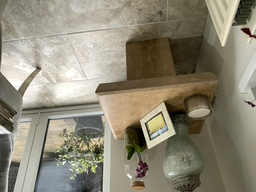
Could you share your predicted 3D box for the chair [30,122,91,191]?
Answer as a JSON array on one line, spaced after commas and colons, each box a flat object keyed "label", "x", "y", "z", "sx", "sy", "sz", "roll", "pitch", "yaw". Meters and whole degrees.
[{"label": "chair", "x": -0.740, "y": 0.910, "z": 2.450, "sx": 0.470, "sy": 1.050, "sz": 0.560, "roll": -1, "pitch": 146, "yaw": -2}]
